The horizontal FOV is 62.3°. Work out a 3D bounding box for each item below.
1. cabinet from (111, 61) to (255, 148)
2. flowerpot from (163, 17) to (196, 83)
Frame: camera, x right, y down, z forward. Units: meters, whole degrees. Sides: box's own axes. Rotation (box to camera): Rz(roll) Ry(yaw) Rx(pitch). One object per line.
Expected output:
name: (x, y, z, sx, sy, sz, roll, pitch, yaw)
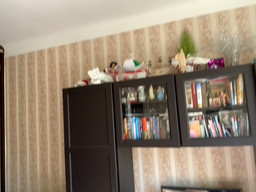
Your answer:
cabinet: (0.490, 0.120, 2.020, 1.160, 0.640, 0.490, -6, -5, 19)
flowerpot: (0.520, -0.430, 2.120, 0.240, 0.550, 0.320, -6, -5, 20)
